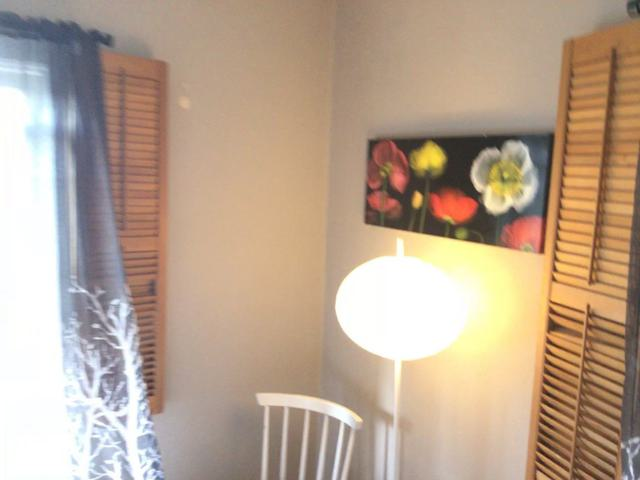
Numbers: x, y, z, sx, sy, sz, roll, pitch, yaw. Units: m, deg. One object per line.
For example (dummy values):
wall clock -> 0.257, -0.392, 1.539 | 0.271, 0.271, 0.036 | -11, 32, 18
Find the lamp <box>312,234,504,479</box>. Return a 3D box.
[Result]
lamp -> 0.220, 0.720, 1.680 | 0.370, 1.450, 0.330 | 0, 6, -33
